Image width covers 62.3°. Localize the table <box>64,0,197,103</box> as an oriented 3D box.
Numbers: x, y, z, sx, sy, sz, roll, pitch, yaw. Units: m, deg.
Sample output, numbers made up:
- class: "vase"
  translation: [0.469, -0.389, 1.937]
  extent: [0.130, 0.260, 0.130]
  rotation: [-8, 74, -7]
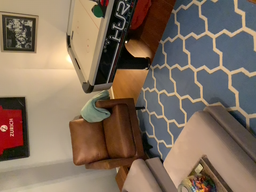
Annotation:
- class: "table"
  translation: [-0.020, -1.130, 2.320]
  extent: [1.220, 0.860, 2.090]
  rotation: [58, 140, 40]
